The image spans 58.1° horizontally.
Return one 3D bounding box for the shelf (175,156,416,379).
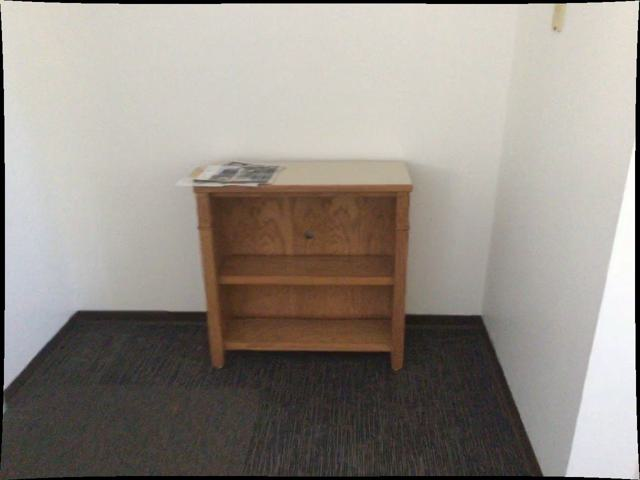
[{"bbox_3d":[-0.070,0.100,2.260,0.819,0.781,0.360,0,21,4],"label":"shelf"}]
